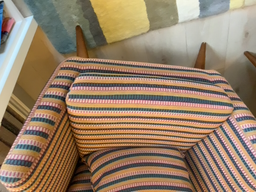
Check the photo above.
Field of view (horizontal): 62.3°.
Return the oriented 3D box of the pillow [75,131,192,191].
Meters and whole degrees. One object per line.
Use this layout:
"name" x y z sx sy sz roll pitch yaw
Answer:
"pillow" 0.040 0.330 0.890 0.430 0.290 0.090 14 123 4
